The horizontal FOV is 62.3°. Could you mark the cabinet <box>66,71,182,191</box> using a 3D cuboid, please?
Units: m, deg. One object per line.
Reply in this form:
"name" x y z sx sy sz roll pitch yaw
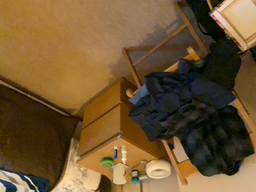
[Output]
"cabinet" -0.020 0.290 1.610 0.490 0.550 0.610 -33 129 27
